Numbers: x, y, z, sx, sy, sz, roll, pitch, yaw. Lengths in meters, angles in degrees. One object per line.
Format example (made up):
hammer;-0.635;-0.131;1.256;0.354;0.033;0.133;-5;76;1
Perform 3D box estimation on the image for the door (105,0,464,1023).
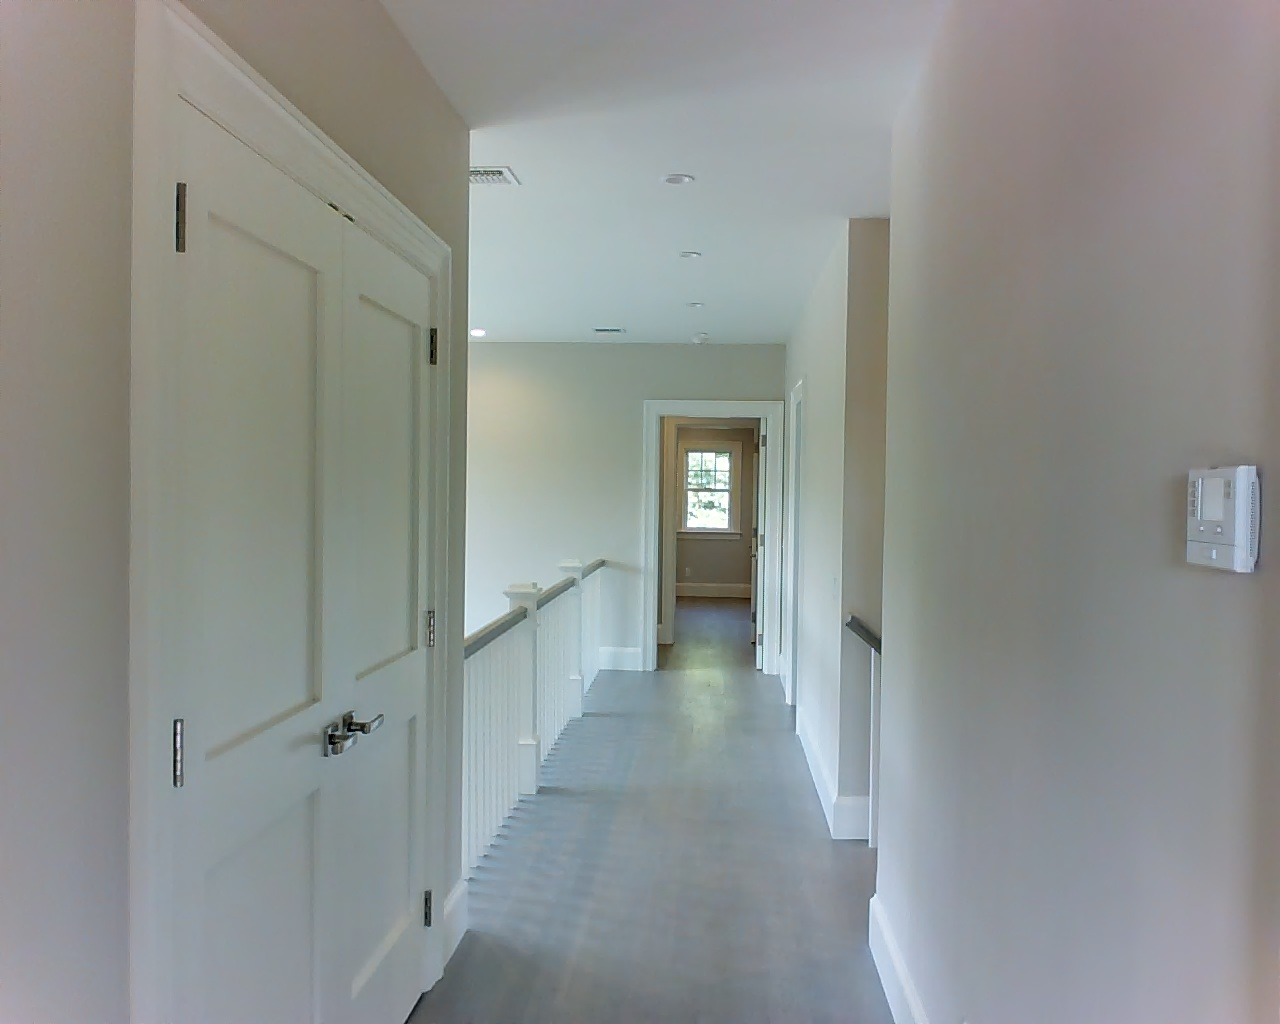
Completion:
door;-0.680;0.300;2.520;0.050;2.270;1.900;1;1;5
